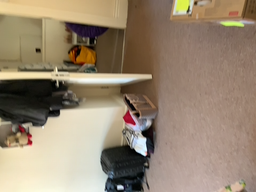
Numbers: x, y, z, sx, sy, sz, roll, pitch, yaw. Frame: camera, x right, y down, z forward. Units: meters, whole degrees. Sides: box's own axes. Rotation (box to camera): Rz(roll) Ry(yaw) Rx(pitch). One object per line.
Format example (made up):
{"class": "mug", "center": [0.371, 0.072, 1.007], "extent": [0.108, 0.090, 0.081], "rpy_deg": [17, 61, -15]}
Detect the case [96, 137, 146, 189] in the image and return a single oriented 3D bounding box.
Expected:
{"class": "case", "center": [-0.090, 0.770, 2.500], "extent": [0.350, 0.450, 0.390], "rpy_deg": [28, 116, 57]}

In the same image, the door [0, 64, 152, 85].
{"class": "door", "center": [-0.680, -0.210, 2.420], "extent": [1.030, 1.590, 0.130], "rpy_deg": [2, 94, 61]}
